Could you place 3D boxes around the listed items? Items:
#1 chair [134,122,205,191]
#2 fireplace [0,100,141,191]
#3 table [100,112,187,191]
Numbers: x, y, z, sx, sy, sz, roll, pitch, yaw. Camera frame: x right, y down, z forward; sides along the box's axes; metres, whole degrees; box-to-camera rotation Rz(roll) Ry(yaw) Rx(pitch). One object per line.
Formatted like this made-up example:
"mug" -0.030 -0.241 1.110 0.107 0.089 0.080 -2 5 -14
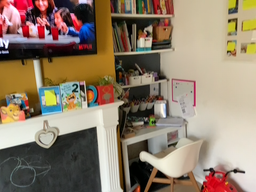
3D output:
"chair" 0.430 0.770 2.260 0.490 0.790 0.530 -11 15 -30
"fireplace" -0.580 0.750 1.710 1.350 1.190 0.390 -10 15 -28
"table" 0.210 0.710 2.700 0.930 0.730 0.530 -10 15 -30
